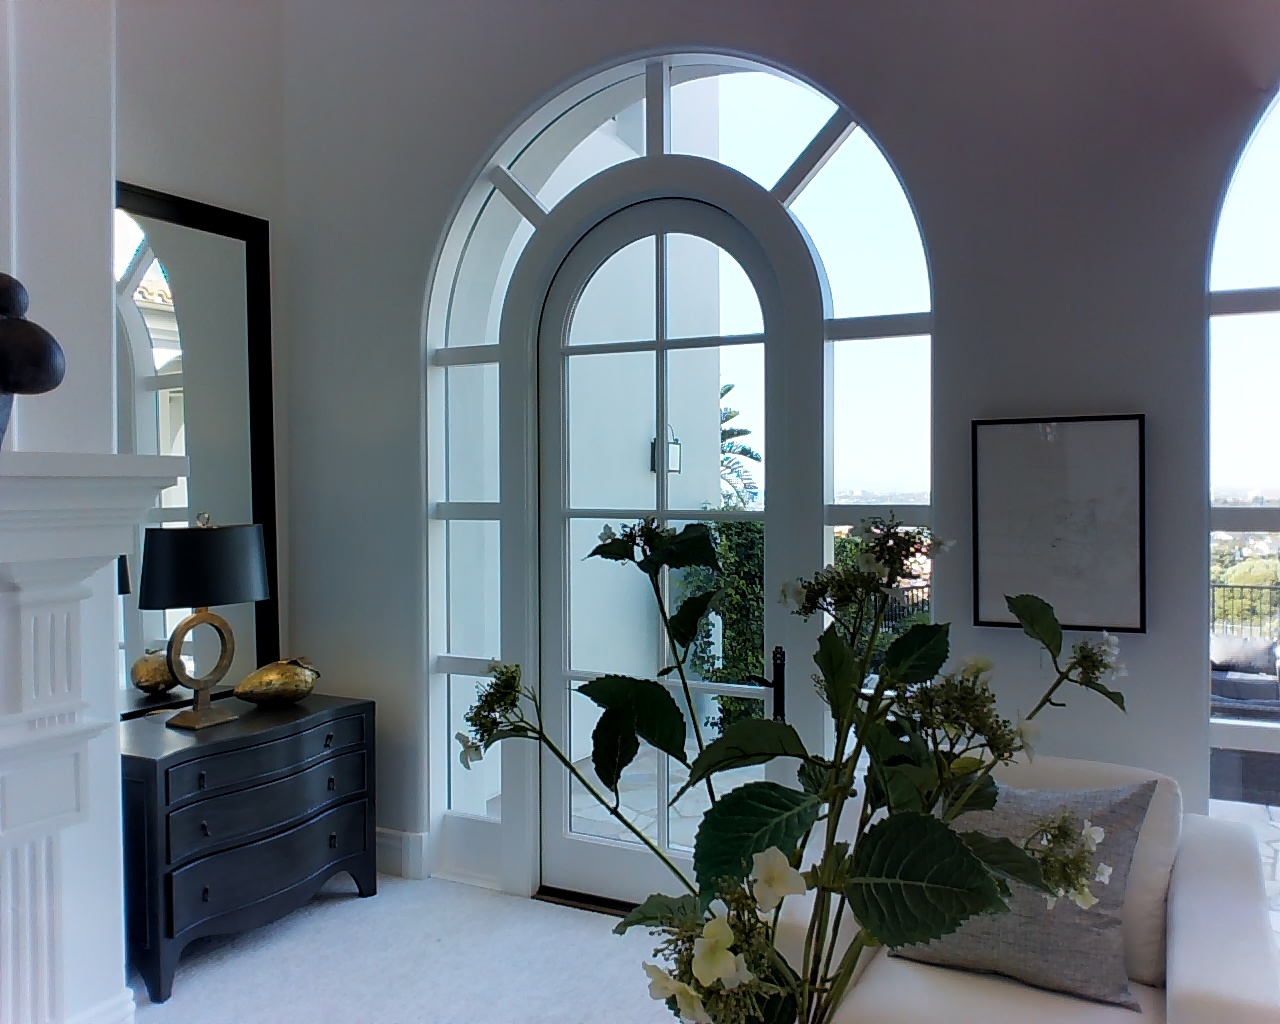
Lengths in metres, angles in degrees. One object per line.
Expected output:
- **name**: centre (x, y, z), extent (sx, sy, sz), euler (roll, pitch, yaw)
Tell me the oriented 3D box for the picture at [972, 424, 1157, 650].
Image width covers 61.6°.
- **picture**: centre (1.270, 0.070, 3.230), extent (0.510, 0.650, 0.050), euler (1, 1, 27)
